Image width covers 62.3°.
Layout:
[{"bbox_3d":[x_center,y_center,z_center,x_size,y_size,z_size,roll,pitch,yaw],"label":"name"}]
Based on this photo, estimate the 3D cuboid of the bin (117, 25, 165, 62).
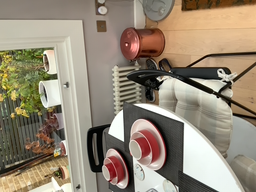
[{"bbox_3d":[0.120,-0.460,1.850,0.230,0.340,0.280,18,116,51],"label":"bin"}]
